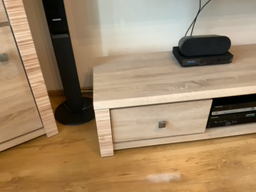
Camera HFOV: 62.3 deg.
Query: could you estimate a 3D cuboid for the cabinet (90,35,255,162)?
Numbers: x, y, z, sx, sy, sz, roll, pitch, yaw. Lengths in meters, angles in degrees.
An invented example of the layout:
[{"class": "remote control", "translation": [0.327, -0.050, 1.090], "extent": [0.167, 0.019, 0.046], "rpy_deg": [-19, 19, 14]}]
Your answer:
[{"class": "cabinet", "translation": [0.570, -0.070, 1.230], "extent": [1.520, 0.330, 0.590], "rpy_deg": [-6, 35, -6]}]
